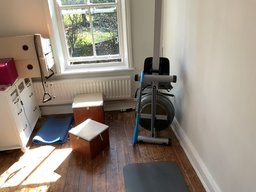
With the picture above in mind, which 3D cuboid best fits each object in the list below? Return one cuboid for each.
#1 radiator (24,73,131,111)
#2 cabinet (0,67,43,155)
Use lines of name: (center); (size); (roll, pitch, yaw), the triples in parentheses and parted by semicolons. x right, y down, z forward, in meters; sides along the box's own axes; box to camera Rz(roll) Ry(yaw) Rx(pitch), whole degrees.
radiator: (-0.740, -0.070, 3.330); (1.570, 0.460, 0.110); (-5, 26, -6)
cabinet: (-1.570, 0.150, 2.850); (0.470, 0.790, 0.960); (-5, 26, -6)
